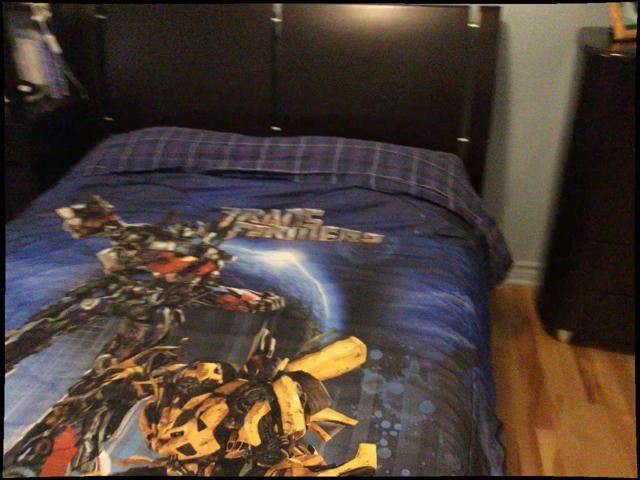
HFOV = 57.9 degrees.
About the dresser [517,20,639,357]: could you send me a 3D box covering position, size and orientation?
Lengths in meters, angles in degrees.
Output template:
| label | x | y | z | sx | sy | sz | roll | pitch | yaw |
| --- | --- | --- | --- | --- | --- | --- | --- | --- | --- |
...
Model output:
| label | x | y | z | sx | sy | sz | roll | pitch | yaw |
| --- | --- | --- | --- | --- | --- | --- | --- | --- | --- |
| dresser | 1.209 | -0.140 | 1.840 | 0.919 | 0.971 | 0.460 | 4 | 31 | 9 |
